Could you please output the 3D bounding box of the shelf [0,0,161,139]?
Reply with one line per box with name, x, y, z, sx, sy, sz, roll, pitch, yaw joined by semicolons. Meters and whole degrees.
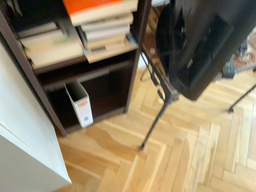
shelf;-0.160;-0.420;0.520;0.470;2.010;0.310;-20;66;-16
